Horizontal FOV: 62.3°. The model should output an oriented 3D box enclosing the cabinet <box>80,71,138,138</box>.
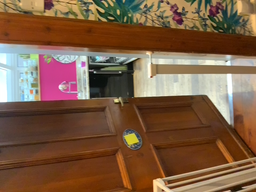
[{"bbox_3d":[-0.390,0.150,4.070,0.660,0.900,1.150,168,99,-70],"label":"cabinet"}]
